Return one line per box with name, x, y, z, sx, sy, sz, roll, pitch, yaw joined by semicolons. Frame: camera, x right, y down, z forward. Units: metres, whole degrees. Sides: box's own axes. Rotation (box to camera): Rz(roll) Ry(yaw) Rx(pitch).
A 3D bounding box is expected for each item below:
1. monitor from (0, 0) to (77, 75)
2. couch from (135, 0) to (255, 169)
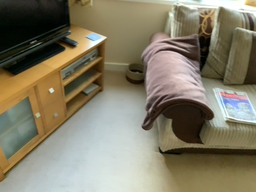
monitor;-0.570;-0.470;1.280;0.070;0.460;0.660;26;44;19
couch;1.190;-0.090;1.710;2.090;0.850;0.990;3;41;-7
